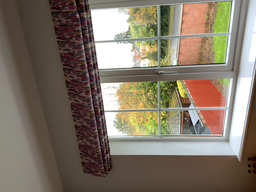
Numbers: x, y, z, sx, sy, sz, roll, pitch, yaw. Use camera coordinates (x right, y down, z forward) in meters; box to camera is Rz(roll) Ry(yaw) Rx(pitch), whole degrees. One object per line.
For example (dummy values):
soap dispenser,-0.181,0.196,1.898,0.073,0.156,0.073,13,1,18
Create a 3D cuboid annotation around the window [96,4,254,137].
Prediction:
window,0.320,-0.120,1.650,0.110,0.990,1.040,-82,-11,-60
